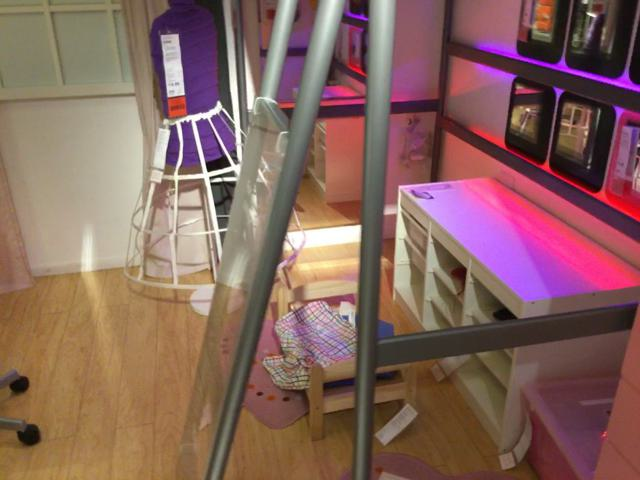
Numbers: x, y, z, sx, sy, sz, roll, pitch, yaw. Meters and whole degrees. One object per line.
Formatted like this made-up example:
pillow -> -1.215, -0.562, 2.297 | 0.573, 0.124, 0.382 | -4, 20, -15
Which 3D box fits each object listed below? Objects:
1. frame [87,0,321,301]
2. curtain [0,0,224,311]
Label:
frame -> -0.420, -0.400, 2.280 | 0.710, 1.030, 0.610 | -6, 23, -12
curtain -> -1.080, -0.780, 2.380 | 1.160, 2.160, 0.300 | -6, 23, -12
